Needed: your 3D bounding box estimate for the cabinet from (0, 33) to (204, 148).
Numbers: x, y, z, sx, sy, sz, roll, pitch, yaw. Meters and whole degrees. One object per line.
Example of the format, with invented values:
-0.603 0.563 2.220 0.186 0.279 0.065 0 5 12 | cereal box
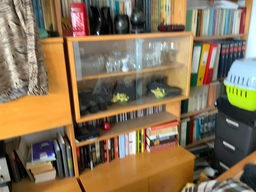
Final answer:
-0.340 -0.090 1.200 1.650 0.460 0.370 -10 20 -25 | cabinet
